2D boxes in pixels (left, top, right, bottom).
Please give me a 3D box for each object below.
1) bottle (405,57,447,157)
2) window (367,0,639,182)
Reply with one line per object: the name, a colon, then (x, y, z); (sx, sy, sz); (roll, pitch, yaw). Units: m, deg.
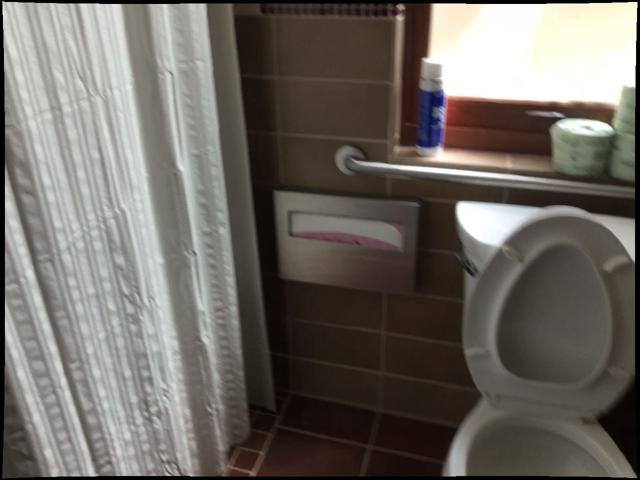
bottle: (0.279, -0.351, 1.520); (0.080, 0.230, 0.110); (7, 30, 16)
window: (0.559, -0.692, 1.280); (0.888, 1.112, 0.120); (7, 30, 16)
